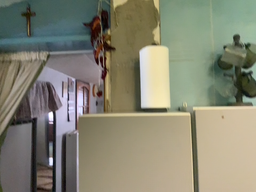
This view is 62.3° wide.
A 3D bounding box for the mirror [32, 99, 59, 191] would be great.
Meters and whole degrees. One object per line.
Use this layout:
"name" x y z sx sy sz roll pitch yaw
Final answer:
"mirror" -0.960 0.670 2.520 0.120 1.270 0.670 -1 -1 -6
